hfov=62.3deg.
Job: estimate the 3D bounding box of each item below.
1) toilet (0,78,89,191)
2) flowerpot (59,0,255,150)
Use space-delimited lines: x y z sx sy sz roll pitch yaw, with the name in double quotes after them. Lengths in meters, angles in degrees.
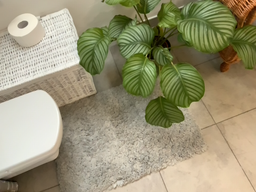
-0.590 0.250 1.220 0.540 0.400 0.400 -21 63 -3 "toilet"
0.090 -0.280 1.310 0.710 0.630 0.880 -20 63 -3 "flowerpot"
